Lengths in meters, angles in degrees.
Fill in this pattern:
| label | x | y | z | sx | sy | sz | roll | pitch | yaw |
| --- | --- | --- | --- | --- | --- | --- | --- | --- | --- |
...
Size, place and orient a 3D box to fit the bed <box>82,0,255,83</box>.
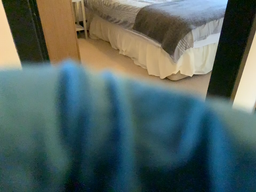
| label | x | y | z | sx | sy | sz | roll | pitch | yaw |
| --- | --- | --- | --- | --- | --- | --- | --- | --- | --- |
| bed | 0.460 | -1.110 | 2.710 | 1.410 | 0.630 | 2.050 | -21 | 40 | -23 |
